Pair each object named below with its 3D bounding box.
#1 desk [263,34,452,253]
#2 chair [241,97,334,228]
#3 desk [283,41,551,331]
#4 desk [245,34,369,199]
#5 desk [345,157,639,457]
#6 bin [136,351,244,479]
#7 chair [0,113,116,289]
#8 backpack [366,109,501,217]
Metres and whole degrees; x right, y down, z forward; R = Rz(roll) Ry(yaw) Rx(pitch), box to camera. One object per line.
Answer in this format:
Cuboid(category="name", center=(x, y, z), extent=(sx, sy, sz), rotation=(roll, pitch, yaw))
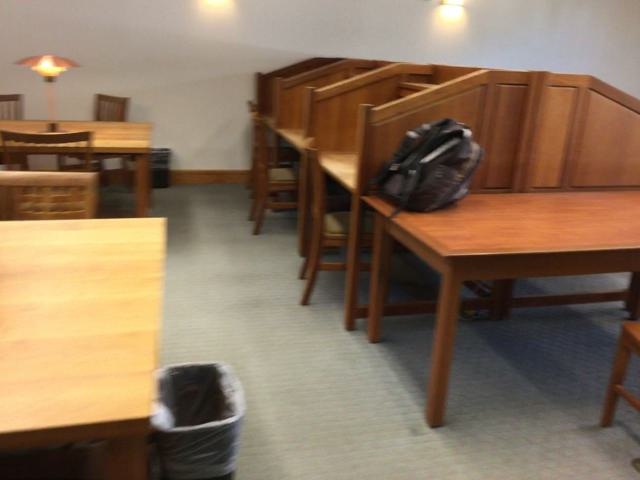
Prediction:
Cuboid(category="desk", center=(0.180, -0.830, 4.570), extent=(0.980, 1.420, 1.390), rotation=(-2, 21, -16))
Cuboid(category="chair", center=(-0.290, -0.640, 4.670), extent=(0.600, 0.920, 0.610), rotation=(-2, 21, -16))
Cuboid(category="desk", center=(0.430, -0.420, 3.510), extent=(1.010, 1.400, 1.290), rotation=(-2, 21, -16))
Cuboid(category="desk", center=(-0.190, -1.200, 5.480), extent=(0.860, 1.350, 1.110), rotation=(-2, 21, -16))
Cuboid(category="desk", center=(1.120, 0.190, 2.670), extent=(1.750, 0.880, 1.140), rotation=(0, 20, -10))
Cuboid(category="bin", center=(-0.420, 0.640, 1.840), extent=(0.290, 0.380, 0.420), rotation=(-2, 21, -16))
Cuboid(category="chair", center=(-1.570, -0.260, 3.520), extent=(0.540, 0.910, 0.610), rotation=(-2, 21, -16))
Cuboid(category="backpack", center=(0.490, -0.360, 2.610), extent=(0.420, 0.390, 0.410), rotation=(-2, 21, -16))
